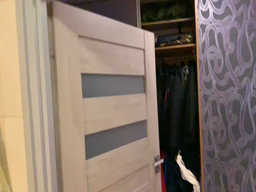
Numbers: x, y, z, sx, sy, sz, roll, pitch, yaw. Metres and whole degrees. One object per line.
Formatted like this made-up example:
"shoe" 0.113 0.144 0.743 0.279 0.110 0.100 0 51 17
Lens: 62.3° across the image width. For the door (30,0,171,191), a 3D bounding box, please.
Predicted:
"door" -0.030 0.540 1.260 0.120 1.980 0.930 -1 3 40
